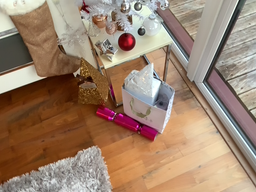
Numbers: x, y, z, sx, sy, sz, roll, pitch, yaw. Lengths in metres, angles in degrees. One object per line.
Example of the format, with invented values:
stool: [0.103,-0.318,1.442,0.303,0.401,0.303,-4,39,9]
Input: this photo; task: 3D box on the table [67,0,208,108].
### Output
table: [0.020,-0.310,1.120,0.500,0.460,0.430,-21,61,-9]
